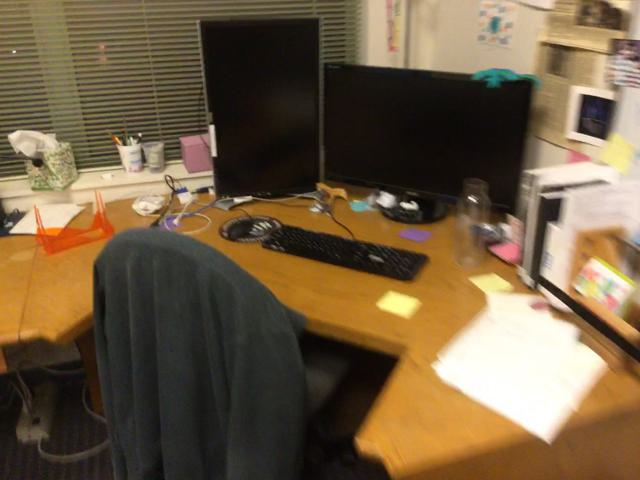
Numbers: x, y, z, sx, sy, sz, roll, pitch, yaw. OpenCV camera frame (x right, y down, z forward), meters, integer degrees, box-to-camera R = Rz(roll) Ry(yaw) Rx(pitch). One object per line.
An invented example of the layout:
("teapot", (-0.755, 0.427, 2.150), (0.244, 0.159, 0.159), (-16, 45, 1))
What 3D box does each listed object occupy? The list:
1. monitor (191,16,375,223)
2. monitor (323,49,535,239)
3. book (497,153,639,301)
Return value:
("monitor", (-0.110, -0.380, 1.780), (0.490, 0.560, 0.200), (-9, 26, -19))
("monitor", (0.300, -0.310, 1.740), (0.550, 0.450, 0.220), (16, 29, 30))
("book", (0.600, -0.040, 1.390), (0.220, 0.270, 0.210), (-9, 26, -19))
